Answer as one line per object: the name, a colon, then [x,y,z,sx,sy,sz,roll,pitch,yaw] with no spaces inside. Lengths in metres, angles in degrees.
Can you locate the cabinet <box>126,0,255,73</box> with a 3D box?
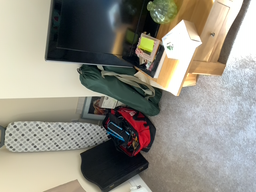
cabinet: [0.430,-0.660,1.390,0.600,0.430,0.830,40,121,43]
